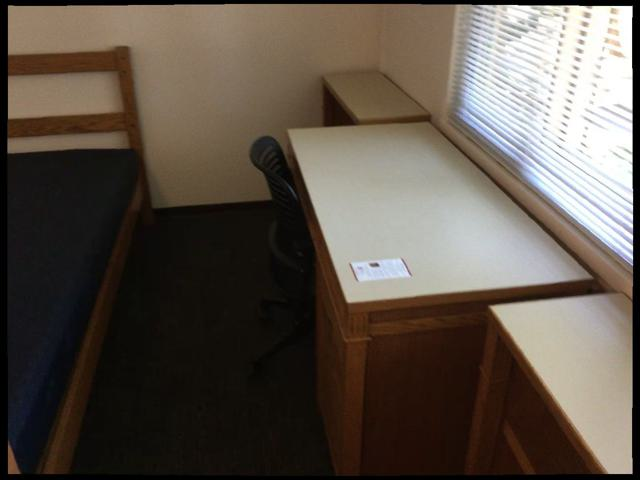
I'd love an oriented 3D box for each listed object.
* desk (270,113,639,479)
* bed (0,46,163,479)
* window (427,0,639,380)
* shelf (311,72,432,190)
[{"bbox_3d":[0.260,0.170,1.940,0.719,0.781,1.391,-4,29,-7],"label":"desk"},{"bbox_3d":[-1.268,0.050,1.970,1.118,0.961,2.171,-4,29,-7],"label":"bed"},{"bbox_3d":[0.659,-0.381,1.510,0.230,0.811,1.501,-4,29,-7],"label":"window"},{"bbox_3d":[0.200,-0.541,2.690,0.369,0.280,0.830,-4,29,-7],"label":"shelf"}]
